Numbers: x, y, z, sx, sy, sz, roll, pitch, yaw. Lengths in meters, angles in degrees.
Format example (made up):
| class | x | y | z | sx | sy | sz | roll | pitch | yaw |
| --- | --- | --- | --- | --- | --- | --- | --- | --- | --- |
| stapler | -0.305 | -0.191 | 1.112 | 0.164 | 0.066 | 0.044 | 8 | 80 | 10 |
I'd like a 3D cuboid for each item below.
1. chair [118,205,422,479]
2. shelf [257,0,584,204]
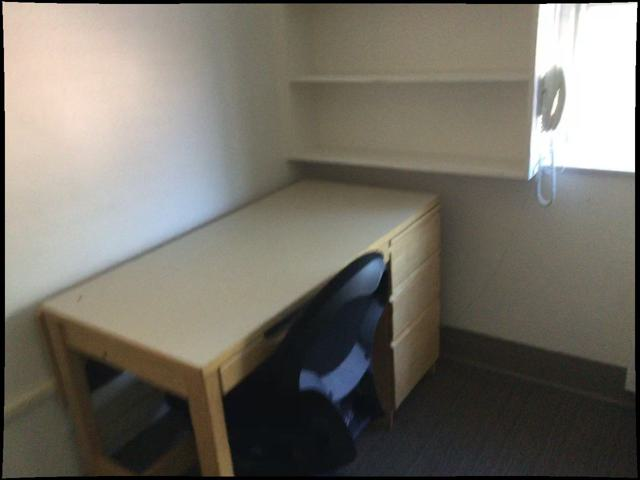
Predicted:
| class | x | y | z | sx | sy | sz | roll | pitch | yaw |
| --- | --- | --- | --- | --- | --- | --- | --- | --- | --- |
| chair | -0.100 | 0.421 | 1.710 | 0.599 | 0.862 | 0.530 | 10 | 27 | 35 |
| shelf | 0.319 | -0.642 | 2.080 | 1.098 | 0.862 | 0.290 | 10 | 26 | 33 |
